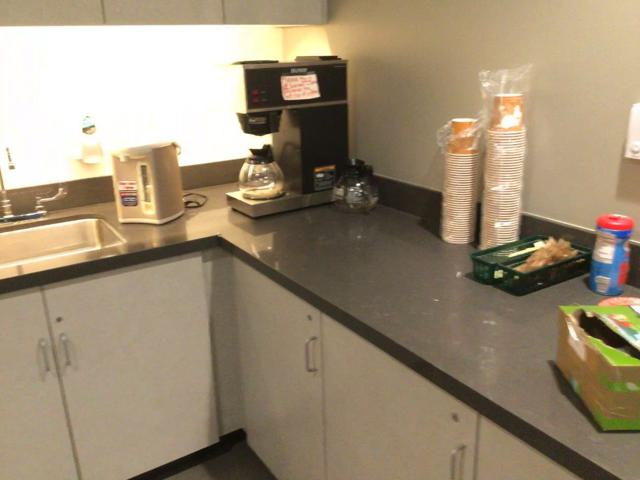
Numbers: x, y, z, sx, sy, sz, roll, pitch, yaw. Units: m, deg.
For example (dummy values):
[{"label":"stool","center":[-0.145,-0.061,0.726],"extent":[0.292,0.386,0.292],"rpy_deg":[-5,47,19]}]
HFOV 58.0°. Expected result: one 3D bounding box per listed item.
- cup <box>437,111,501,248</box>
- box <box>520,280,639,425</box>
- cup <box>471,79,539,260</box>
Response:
[{"label":"cup","center":[0.410,-0.170,1.600],"extent":[0.150,0.350,0.090],"rpy_deg":[-14,20,-33]},{"label":"box","center":[0.470,0.170,0.940],"extent":[0.190,0.120,0.240],"rpy_deg":[-4,16,-4]},{"label":"cup","center":[0.470,-0.180,1.480],"extent":[0.100,0.440,0.110],"rpy_deg":[-14,20,-33]}]
